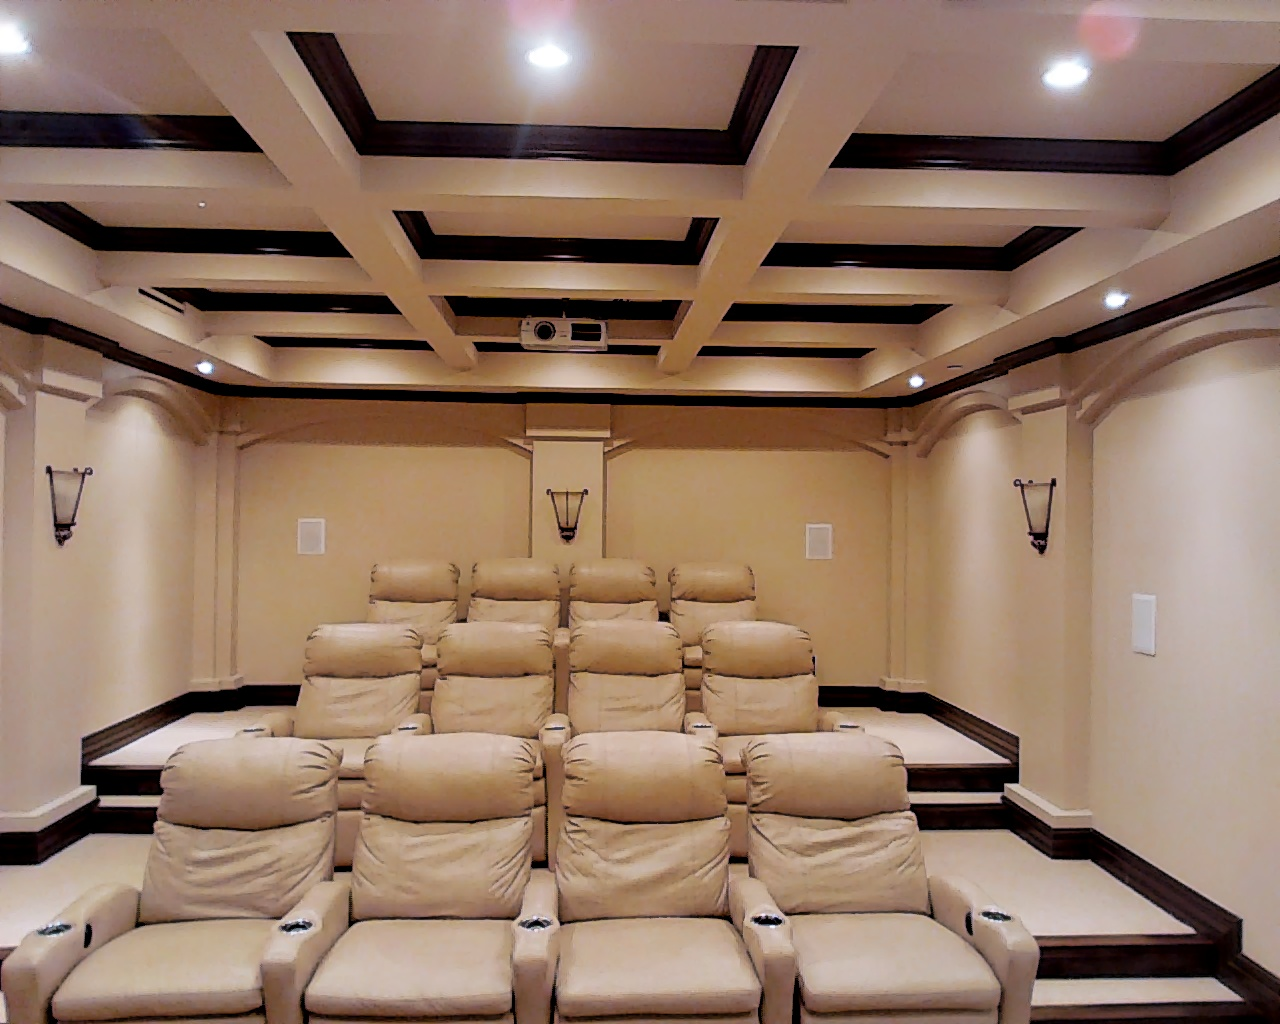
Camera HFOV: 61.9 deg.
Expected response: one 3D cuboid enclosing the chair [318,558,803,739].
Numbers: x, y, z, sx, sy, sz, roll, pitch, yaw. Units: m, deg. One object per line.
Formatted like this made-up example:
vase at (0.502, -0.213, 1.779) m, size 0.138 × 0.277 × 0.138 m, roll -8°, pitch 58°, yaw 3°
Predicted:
chair at (-0.500, 0.860, 7.050) m, size 2.940 × 1.050 × 1.080 m, roll 1°, pitch 0°, yaw -3°
